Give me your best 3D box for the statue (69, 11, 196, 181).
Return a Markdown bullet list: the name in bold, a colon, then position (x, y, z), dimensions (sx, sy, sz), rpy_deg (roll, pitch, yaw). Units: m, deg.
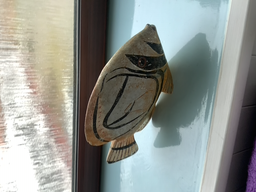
- **statue**: position (-0.010, -0.010, 0.430), dimensions (0.160, 0.150, 0.270), rpy_deg (35, 122, 49)
